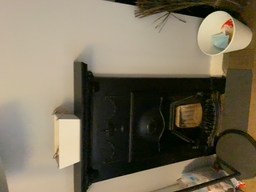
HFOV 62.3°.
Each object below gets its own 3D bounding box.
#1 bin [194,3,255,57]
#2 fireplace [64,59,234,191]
[{"bbox_3d":[0.650,-0.420,1.430,0.250,0.280,0.290,14,104,60],"label":"bin"},{"bbox_3d":[0.180,0.210,1.470,0.320,1.150,0.870,17,107,59],"label":"fireplace"}]
